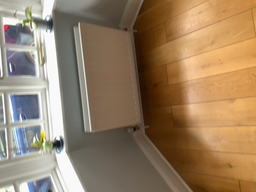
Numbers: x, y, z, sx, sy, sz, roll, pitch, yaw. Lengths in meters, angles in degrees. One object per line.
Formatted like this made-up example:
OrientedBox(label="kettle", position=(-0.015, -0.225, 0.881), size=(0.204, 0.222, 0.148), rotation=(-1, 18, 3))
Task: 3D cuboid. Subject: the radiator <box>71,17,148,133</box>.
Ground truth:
OrientedBox(label="radiator", position=(-0.130, -0.170, 1.800), size=(0.110, 0.610, 0.870), rotation=(-10, 85, 48))
